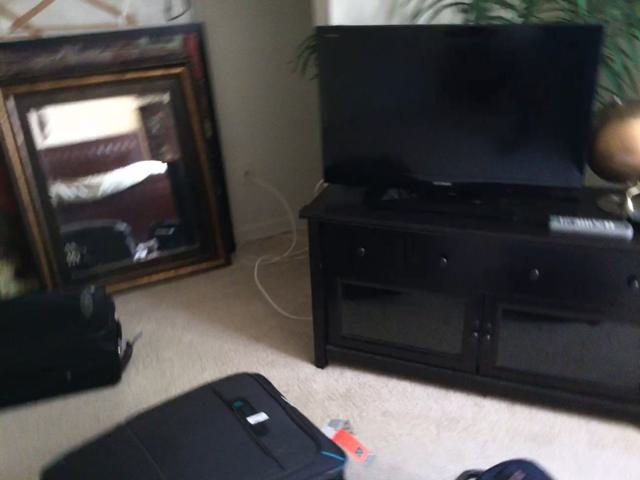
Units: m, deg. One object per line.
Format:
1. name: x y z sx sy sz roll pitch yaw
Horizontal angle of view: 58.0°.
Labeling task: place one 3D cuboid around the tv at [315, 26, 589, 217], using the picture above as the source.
1. tv: 0.360 -0.360 1.710 0.730 0.490 0.180 6 19 20

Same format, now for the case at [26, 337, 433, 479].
1. case: -0.220 0.590 1.370 0.800 0.380 0.500 -9 20 -24

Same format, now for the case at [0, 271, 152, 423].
1. case: -0.920 0.350 1.960 0.590 0.280 0.390 -9 20 -24
